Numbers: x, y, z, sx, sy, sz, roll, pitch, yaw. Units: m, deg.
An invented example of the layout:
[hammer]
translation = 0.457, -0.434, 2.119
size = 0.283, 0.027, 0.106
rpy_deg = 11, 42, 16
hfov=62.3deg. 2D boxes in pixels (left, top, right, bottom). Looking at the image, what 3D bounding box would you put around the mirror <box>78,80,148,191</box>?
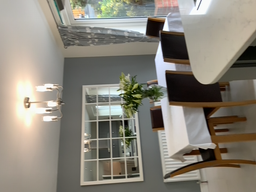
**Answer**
[mirror]
translation = -0.290, 0.670, 3.720
size = 0.160, 1.080, 1.990
rpy_deg = 95, 171, -67
